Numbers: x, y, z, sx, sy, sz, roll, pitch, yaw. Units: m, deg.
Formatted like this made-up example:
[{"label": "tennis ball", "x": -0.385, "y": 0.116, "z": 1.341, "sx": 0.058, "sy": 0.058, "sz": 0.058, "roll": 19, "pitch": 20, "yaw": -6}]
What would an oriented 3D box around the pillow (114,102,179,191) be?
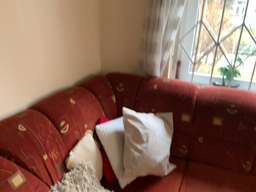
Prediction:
[{"label": "pillow", "x": 0.130, "y": 0.290, "z": 1.340, "sx": 0.290, "sy": 0.330, "sz": 0.410, "roll": 9, "pitch": 24, "yaw": 18}]
